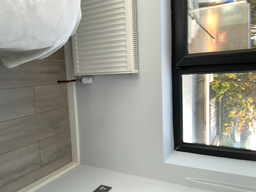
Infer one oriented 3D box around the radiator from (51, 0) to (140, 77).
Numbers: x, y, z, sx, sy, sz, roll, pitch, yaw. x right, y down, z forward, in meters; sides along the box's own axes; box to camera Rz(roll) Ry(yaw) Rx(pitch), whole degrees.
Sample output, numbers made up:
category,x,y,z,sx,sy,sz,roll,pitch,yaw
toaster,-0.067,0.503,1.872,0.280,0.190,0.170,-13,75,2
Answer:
category,x,y,z,sx,sy,sz,roll,pitch,yaw
radiator,-0.260,-0.770,1.440,0.080,0.670,1.260,-15,105,-61
